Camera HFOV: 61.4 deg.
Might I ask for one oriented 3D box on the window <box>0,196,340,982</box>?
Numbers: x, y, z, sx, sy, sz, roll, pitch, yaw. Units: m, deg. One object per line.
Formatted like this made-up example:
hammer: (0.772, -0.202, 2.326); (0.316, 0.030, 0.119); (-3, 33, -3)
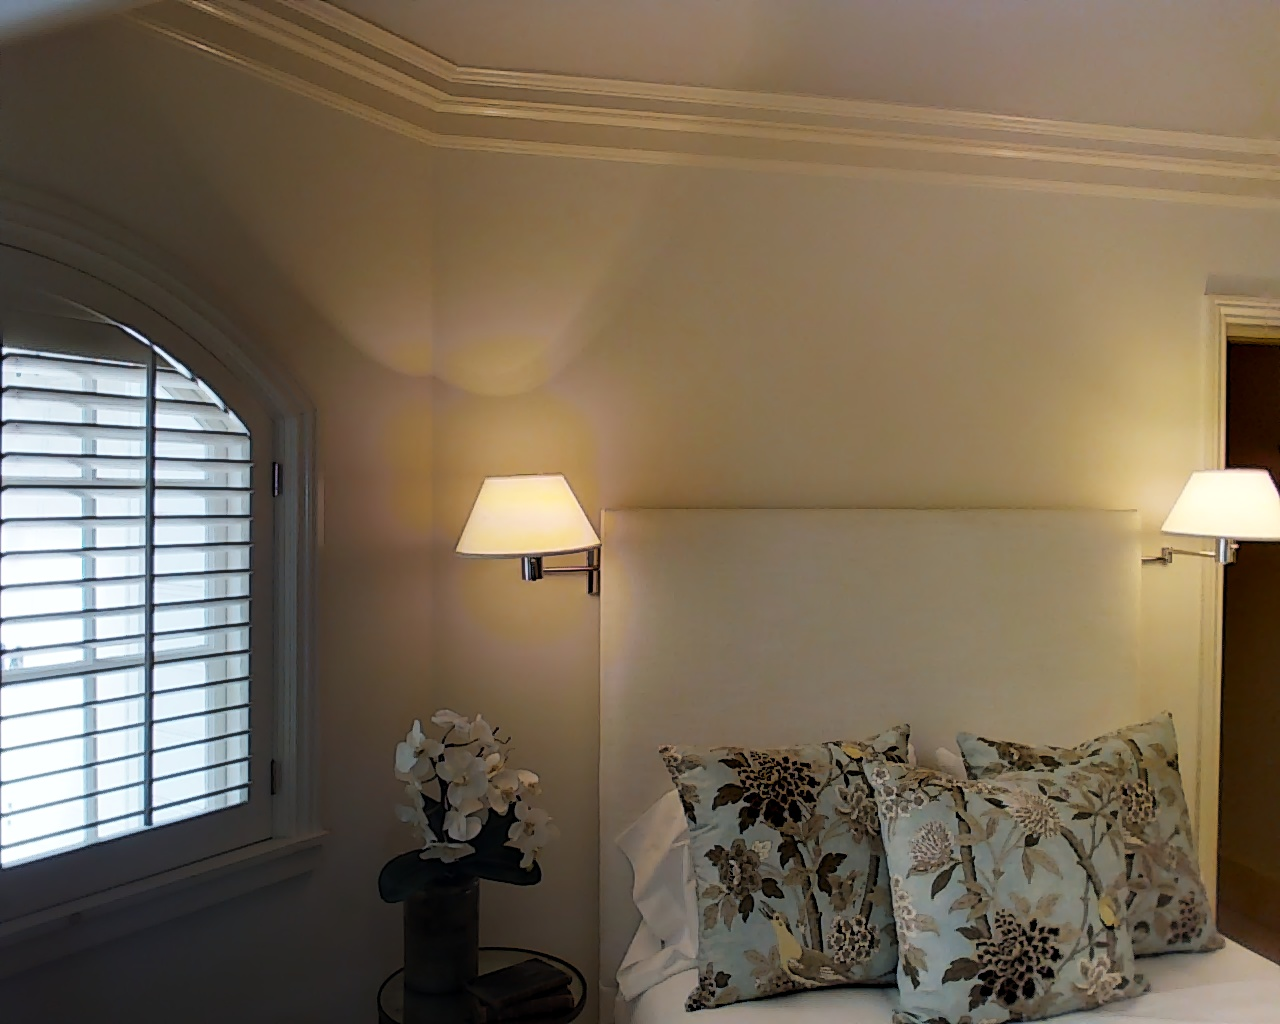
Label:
window: (-0.940, 0.110, 1.610); (0.130, 1.120, 1.160); (1, 1, 32)
